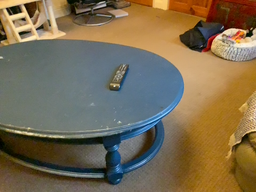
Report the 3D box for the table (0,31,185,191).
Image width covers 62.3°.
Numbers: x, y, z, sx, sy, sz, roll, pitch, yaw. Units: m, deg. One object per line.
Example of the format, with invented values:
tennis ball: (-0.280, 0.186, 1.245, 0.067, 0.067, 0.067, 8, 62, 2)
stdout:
table: (-0.330, 0.030, 1.220, 1.210, 0.430, 0.820, 8, 39, 11)
